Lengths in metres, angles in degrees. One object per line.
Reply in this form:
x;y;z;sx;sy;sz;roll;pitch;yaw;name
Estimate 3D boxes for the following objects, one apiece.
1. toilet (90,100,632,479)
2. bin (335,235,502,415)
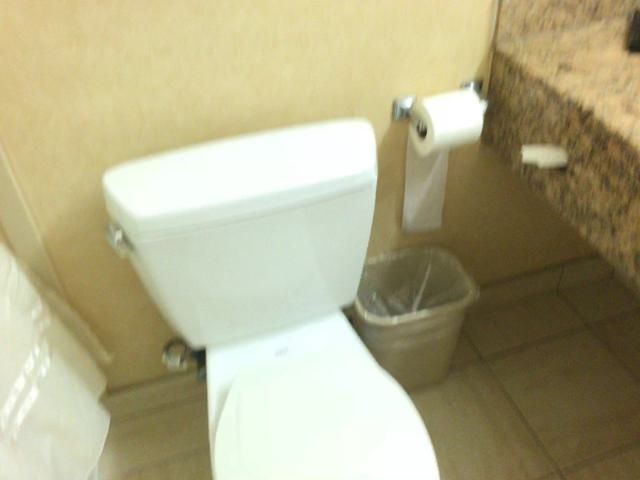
-0.030;0.290;1.050;0.510;0.730;0.760;-15;41;-13;toilet
0.230;0.210;1.450;0.320;0.310;0.220;-15;41;-13;bin
